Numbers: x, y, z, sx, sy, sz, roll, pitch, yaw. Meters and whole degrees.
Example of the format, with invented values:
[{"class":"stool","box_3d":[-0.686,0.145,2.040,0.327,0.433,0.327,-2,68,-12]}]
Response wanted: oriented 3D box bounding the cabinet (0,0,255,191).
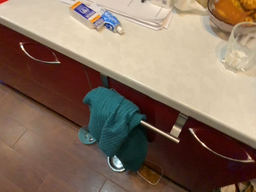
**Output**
[{"class":"cabinet","box_3d":[-0.040,0.010,0.920,1.200,0.900,0.270,27,65,14]}]
